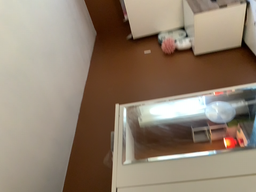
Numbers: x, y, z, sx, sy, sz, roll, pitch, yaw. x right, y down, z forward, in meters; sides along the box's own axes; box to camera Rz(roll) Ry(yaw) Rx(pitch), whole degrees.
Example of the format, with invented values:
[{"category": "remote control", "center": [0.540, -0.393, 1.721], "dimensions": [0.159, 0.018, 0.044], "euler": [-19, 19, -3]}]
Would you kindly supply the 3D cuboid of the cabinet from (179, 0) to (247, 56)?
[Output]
[{"category": "cabinet", "center": [0.750, -0.740, 1.980], "dimensions": [0.500, 0.430, 0.450], "euler": [-91, -12, -45]}]
